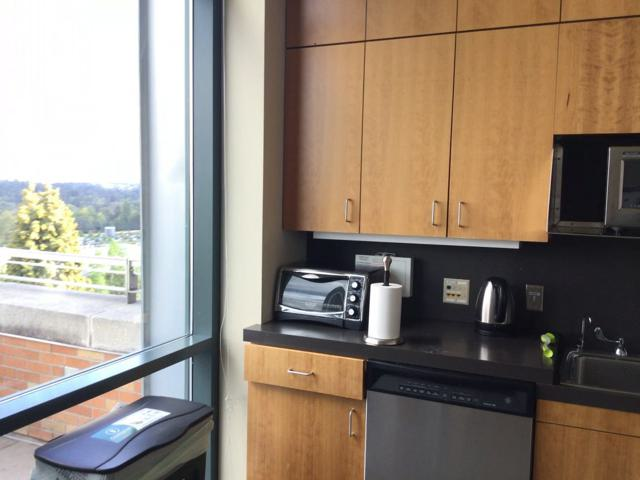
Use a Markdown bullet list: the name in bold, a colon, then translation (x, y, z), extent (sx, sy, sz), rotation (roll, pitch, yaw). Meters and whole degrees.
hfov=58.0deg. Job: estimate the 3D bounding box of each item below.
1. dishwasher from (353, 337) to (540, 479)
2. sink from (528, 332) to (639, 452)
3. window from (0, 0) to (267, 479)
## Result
- **dishwasher**: translation (0.450, 0.850, 2.120), extent (0.640, 0.900, 0.190), rotation (0, 2, 34)
- **sink**: translation (1.190, 0.520, 1.970), extent (0.790, 0.250, 0.560), rotation (0, 2, 34)
- **window**: translation (-0.700, -0.100, 2.070), extent (0.290, 2.860, 1.160), rotation (-1, 1, 34)
